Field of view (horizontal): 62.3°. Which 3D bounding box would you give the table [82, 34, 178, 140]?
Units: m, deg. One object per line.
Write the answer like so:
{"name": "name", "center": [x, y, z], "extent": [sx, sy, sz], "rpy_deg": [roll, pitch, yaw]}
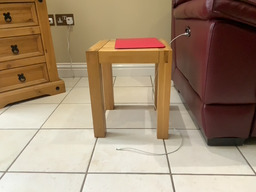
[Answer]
{"name": "table", "center": [0.020, -0.070, 1.050], "extent": [0.360, 0.410, 0.390], "rpy_deg": [1, 23, 3]}
